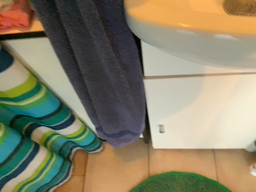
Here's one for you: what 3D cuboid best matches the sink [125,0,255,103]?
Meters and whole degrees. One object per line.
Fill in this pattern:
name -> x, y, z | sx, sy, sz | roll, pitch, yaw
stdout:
sink -> 0.230, -0.200, 0.380 | 0.450, 0.150, 0.380 | -2, 62, 6
